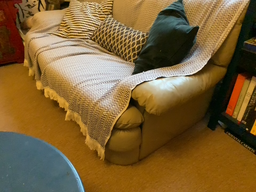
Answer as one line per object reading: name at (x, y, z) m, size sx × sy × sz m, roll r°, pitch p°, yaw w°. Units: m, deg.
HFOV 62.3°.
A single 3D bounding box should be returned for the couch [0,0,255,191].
couch at (-0.150, -0.410, 1.590) m, size 1.040 × 0.820 × 1.680 m, roll -21°, pitch 41°, yaw -31°
